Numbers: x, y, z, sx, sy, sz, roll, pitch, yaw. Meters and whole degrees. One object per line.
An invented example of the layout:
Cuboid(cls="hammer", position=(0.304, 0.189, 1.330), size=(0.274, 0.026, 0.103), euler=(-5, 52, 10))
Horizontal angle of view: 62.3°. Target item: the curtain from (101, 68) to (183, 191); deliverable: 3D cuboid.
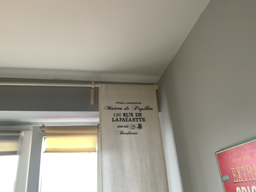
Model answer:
Cuboid(cls="curtain", position=(0.080, 0.540, 1.350), size=(0.470, 1.550, 0.190), euler=(0, -25, -8))

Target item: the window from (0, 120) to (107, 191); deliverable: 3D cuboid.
Cuboid(cls="window", position=(-0.680, 0.840, 1.370), size=(1.080, 1.390, 0.110), euler=(1, -25, -11))
